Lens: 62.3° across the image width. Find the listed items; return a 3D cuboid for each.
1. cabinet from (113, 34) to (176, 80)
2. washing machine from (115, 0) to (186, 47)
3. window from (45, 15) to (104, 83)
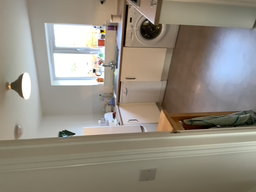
[{"bbox_3d":[0.240,-0.680,3.680,0.590,0.910,0.590,-110,22,-55],"label":"cabinet"},{"bbox_3d":[0.300,-1.170,3.350,0.620,0.910,0.590,-110,22,-55],"label":"washing machine"},{"bbox_3d":[-0.980,-0.840,4.050,0.130,0.980,1.290,-109,21,-53],"label":"window"}]
